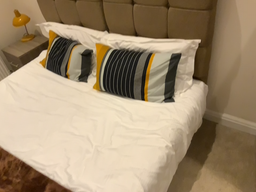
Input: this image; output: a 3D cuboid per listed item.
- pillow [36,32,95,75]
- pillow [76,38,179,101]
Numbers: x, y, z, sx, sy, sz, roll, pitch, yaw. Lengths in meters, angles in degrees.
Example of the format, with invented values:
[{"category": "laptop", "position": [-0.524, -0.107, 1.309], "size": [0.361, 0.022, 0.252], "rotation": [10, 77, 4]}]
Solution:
[{"category": "pillow", "position": [-0.550, -0.330, 1.790], "size": [0.590, 0.330, 0.130], "rotation": [9, 66, 59]}, {"category": "pillow", "position": [-0.030, -0.140, 1.460], "size": [0.640, 0.350, 0.160], "rotation": [-3, 52, 47]}]
